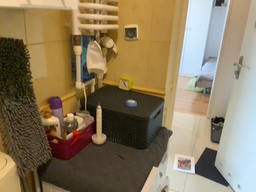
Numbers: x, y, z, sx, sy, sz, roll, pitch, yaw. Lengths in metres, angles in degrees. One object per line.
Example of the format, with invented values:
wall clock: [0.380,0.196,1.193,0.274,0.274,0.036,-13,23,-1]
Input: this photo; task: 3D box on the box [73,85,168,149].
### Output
box: [-0.030,0.090,1.150,0.420,0.160,0.290,11,22,20]
